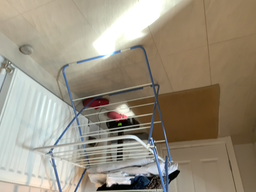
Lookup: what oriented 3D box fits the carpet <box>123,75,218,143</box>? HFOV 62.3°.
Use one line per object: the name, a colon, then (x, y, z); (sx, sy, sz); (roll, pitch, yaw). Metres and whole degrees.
carpet: (0.580, 0.260, 2.420); (0.800, 0.070, 1.460); (-10, 149, 17)
